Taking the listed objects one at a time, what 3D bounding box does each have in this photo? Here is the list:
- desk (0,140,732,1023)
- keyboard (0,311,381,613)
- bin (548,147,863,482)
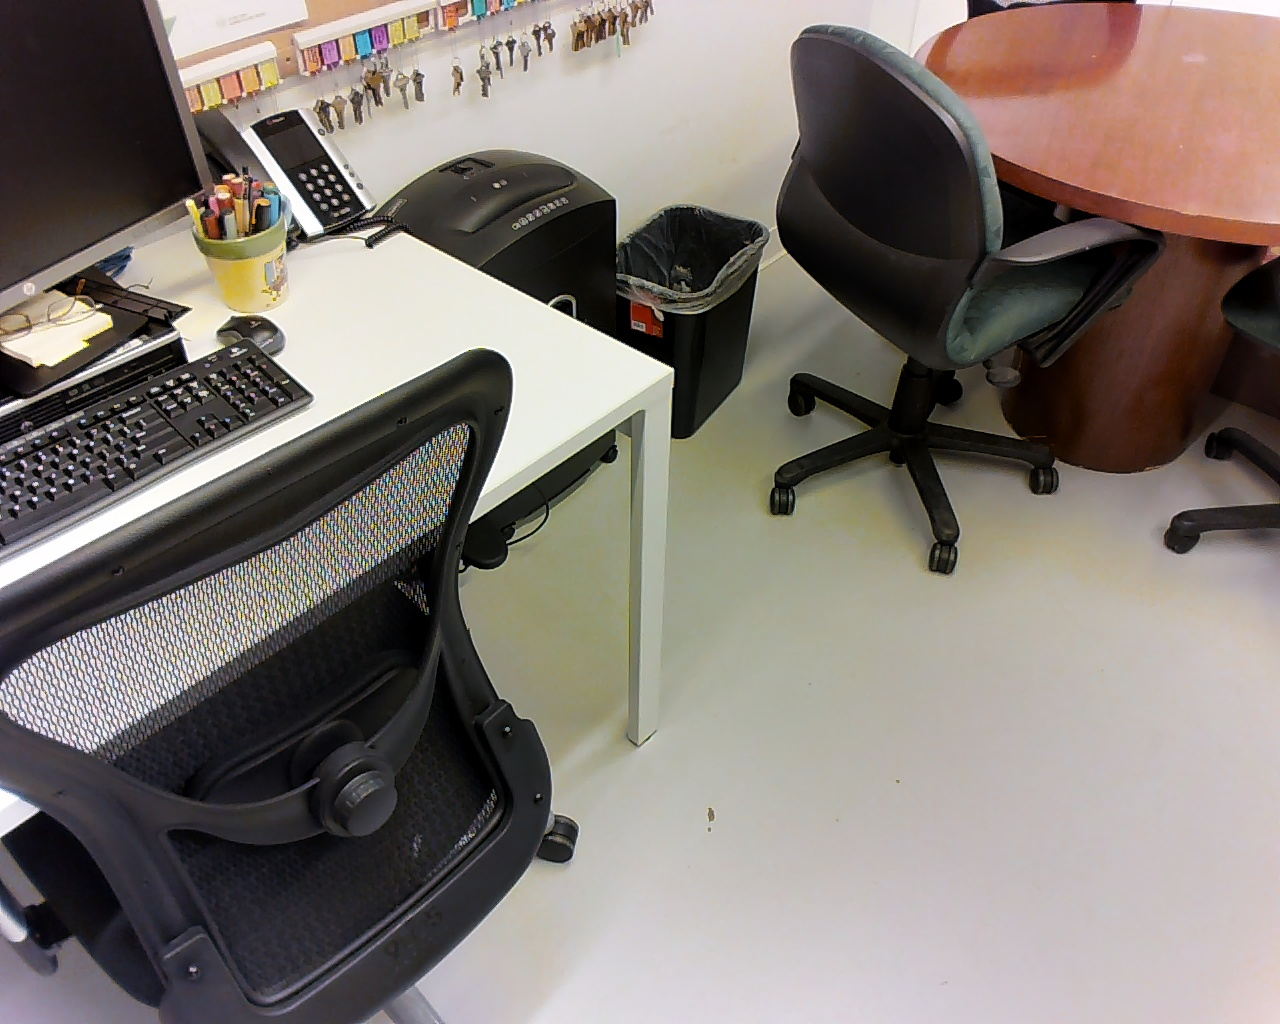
[{"bbox_3d":[-0.630,0.200,1.400,0.810,0.760,1.340,30,50,29],"label":"desk"},{"bbox_3d":[-0.570,-0.050,1.150,0.200,0.040,0.570,30,50,29],"label":"keyboard"},{"bbox_3d":[0.150,-0.460,2.400,0.350,0.440,0.620,31,50,30],"label":"bin"}]
